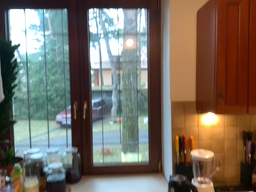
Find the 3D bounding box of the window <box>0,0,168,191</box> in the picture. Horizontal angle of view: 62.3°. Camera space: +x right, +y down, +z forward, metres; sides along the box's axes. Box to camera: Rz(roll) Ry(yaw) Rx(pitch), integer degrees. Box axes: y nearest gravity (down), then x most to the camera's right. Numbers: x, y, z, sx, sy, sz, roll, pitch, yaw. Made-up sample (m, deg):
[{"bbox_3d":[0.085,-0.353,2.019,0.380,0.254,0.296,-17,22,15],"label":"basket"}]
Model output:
[{"bbox_3d":[-0.460,-0.050,1.910,1.590,1.780,0.280,-1,3,-7],"label":"window"}]
